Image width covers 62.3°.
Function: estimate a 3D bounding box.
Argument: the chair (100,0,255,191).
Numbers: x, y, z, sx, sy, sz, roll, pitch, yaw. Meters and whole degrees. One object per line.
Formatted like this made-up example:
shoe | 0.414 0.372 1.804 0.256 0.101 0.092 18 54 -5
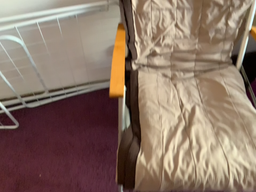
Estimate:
chair | 0.220 -0.040 0.780 0.560 0.770 0.710 0 57 -3
